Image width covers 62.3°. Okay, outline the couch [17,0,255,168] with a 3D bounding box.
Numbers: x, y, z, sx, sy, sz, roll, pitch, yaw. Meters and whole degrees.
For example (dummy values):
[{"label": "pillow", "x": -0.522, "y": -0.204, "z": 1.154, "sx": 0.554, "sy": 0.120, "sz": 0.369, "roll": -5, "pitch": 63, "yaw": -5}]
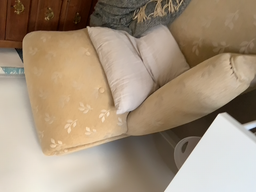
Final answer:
[{"label": "couch", "x": 0.110, "y": -0.230, "z": 1.020, "sx": 0.960, "sy": 0.920, "sz": 0.730, "roll": -37, "pitch": 65, "yaw": 46}]
